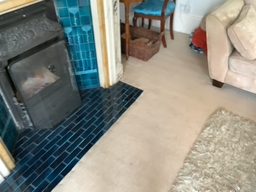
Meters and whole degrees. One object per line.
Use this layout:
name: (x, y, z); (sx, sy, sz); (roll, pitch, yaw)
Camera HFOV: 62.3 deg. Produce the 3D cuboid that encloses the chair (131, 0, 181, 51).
chair: (0.360, -1.110, 2.670); (0.460, 0.870, 0.430); (23, 46, 23)
